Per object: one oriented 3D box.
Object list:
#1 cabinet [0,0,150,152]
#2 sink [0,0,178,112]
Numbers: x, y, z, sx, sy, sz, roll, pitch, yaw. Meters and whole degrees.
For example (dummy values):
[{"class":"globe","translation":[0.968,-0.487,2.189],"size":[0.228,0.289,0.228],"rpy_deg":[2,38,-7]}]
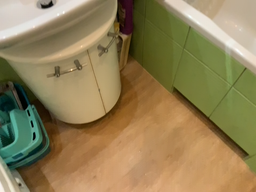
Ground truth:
[{"class":"cabinet","translation":[-0.230,-0.130,0.970],"size":[0.470,0.670,0.390],"rpy_deg":[-35,66,-17]},{"class":"sink","translation":[-0.210,-0.320,0.620],"size":[0.620,0.190,0.420],"rpy_deg":[-35,66,-17]}]
